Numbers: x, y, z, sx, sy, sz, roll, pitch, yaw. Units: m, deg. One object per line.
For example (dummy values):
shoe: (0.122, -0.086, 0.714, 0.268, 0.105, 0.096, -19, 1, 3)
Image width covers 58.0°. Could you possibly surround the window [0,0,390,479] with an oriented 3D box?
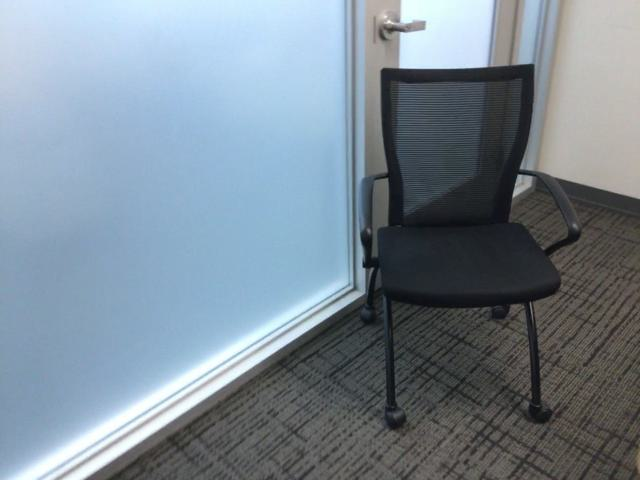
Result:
window: (-0.520, 0.020, 1.530, 1.810, 1.250, 0.240, -29, 35, -36)
